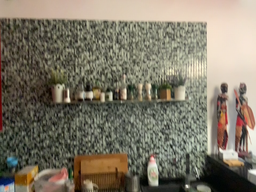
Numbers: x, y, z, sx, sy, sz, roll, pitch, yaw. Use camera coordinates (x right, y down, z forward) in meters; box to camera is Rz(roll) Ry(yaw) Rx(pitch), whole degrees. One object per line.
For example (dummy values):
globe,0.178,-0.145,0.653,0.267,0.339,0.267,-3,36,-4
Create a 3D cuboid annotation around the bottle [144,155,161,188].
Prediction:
bottle,0.210,0.650,1.840,0.120,0.250,0.090,-1,1,-13
